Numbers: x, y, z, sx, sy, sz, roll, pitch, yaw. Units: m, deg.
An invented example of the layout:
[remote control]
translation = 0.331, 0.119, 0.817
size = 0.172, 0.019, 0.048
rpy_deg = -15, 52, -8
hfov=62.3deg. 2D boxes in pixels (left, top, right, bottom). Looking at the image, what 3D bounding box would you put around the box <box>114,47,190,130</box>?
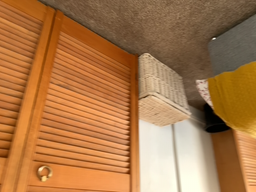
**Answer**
[box]
translation = 0.190, -0.030, 1.700
size = 0.520, 0.450, 0.300
rpy_deg = 21, 146, -36
